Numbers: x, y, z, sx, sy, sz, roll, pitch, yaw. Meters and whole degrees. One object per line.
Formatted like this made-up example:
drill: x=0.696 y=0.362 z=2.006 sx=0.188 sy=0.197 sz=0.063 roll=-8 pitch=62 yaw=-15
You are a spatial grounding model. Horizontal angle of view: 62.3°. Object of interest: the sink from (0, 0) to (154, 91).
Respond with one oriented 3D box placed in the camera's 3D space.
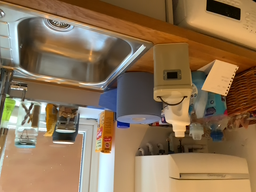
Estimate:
sink: x=-0.240 y=-0.220 z=0.830 sx=0.480 sy=0.180 sz=0.510 roll=9 pitch=160 yaw=-24
